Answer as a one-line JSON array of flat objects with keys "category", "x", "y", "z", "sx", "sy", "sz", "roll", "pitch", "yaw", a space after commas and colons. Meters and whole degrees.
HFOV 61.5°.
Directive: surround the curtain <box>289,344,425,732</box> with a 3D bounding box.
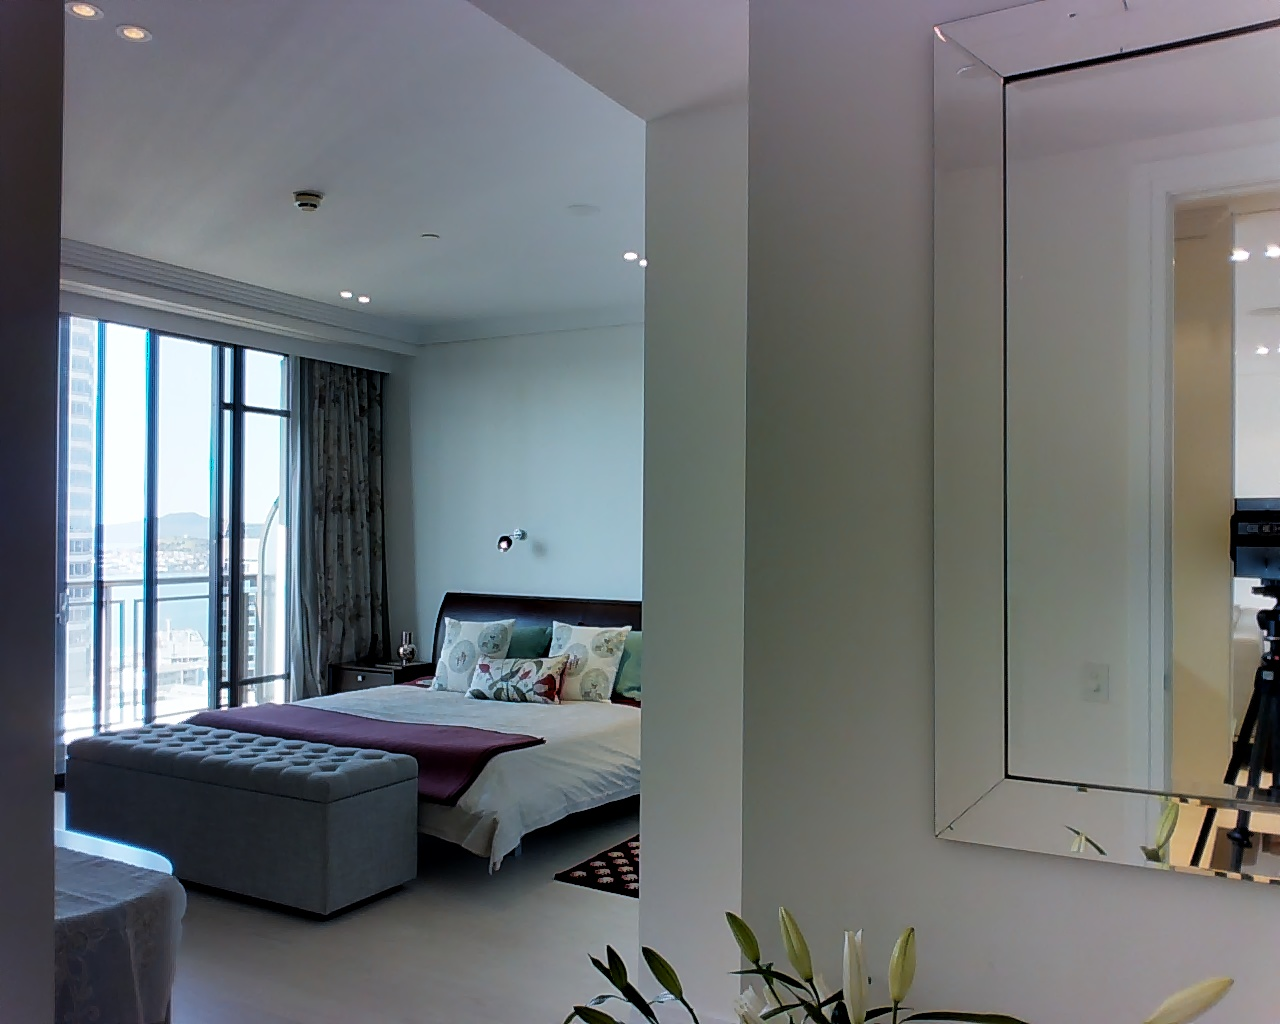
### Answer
[{"category": "curtain", "x": -1.900, "y": 0.180, "z": 7.300, "sx": 0.300, "sy": 2.491, "sz": 0.790, "roll": 0, "pitch": -4, "yaw": 29}]
